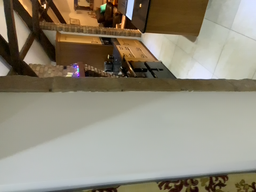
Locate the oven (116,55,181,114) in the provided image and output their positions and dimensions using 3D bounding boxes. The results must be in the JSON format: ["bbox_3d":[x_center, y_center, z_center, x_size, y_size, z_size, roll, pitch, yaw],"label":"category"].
[{"bbox_3d":[0.330,-0.240,4.100,0.960,0.860,0.740,-114,29,-55],"label":"oven"}]
